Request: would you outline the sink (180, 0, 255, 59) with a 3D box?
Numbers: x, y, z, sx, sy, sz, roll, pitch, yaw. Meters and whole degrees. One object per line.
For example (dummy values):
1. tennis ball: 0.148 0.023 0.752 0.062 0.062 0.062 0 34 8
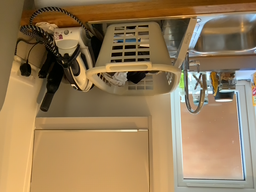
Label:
1. sink: 0.550 -0.390 1.140 0.470 0.190 0.540 -1 170 8
